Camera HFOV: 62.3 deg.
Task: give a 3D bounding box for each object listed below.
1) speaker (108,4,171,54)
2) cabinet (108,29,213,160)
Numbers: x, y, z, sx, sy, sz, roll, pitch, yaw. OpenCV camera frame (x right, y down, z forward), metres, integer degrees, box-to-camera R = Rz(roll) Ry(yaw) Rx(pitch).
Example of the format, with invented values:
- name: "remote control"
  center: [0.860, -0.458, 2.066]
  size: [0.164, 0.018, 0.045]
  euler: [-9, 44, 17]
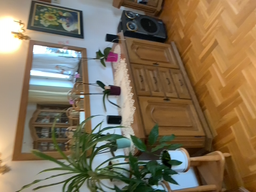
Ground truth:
- name: "speaker"
  center: [0.160, -0.990, 3.200]
  size: [0.390, 0.790, 0.460]
  euler: [123, 145, -50]
- name: "cabinet"
  center: [0.280, -0.060, 2.500]
  size: [0.440, 0.800, 1.470]
  euler: [122, 146, -49]
